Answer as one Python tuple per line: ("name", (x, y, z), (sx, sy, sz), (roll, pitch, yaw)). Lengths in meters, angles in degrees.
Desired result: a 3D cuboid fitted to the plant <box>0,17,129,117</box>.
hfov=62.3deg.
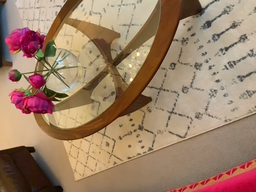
("plant", (-0.280, -0.130, 1.010), (0.210, 0.470, 0.330), (-34, 74, 38))
